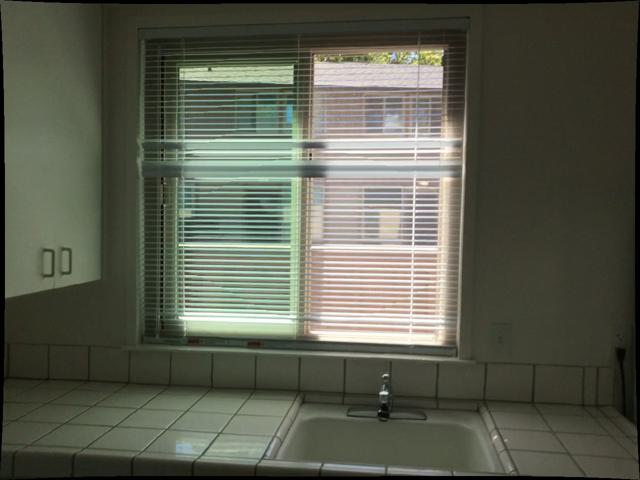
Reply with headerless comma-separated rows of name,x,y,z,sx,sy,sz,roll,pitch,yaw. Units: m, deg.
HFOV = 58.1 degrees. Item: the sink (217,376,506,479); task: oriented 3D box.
sink,0.130,0.631,1.660,0.679,0.250,0.600,2,4,9
